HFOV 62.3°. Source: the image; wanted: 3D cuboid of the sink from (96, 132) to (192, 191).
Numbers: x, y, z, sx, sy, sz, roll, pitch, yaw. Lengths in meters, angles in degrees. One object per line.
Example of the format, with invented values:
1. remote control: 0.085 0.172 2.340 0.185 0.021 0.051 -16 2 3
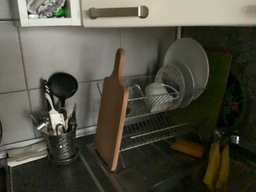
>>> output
1. sink: 0.060 0.310 0.820 0.310 0.210 0.180 -11 22 -28
